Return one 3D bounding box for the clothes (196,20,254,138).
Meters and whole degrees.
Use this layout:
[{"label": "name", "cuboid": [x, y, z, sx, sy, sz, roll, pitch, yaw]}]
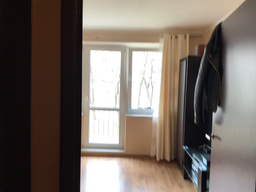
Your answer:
[{"label": "clothes", "cuboid": [0.710, -0.120, 1.610, 0.240, 0.790, 0.350, 2, 3, 2]}]
